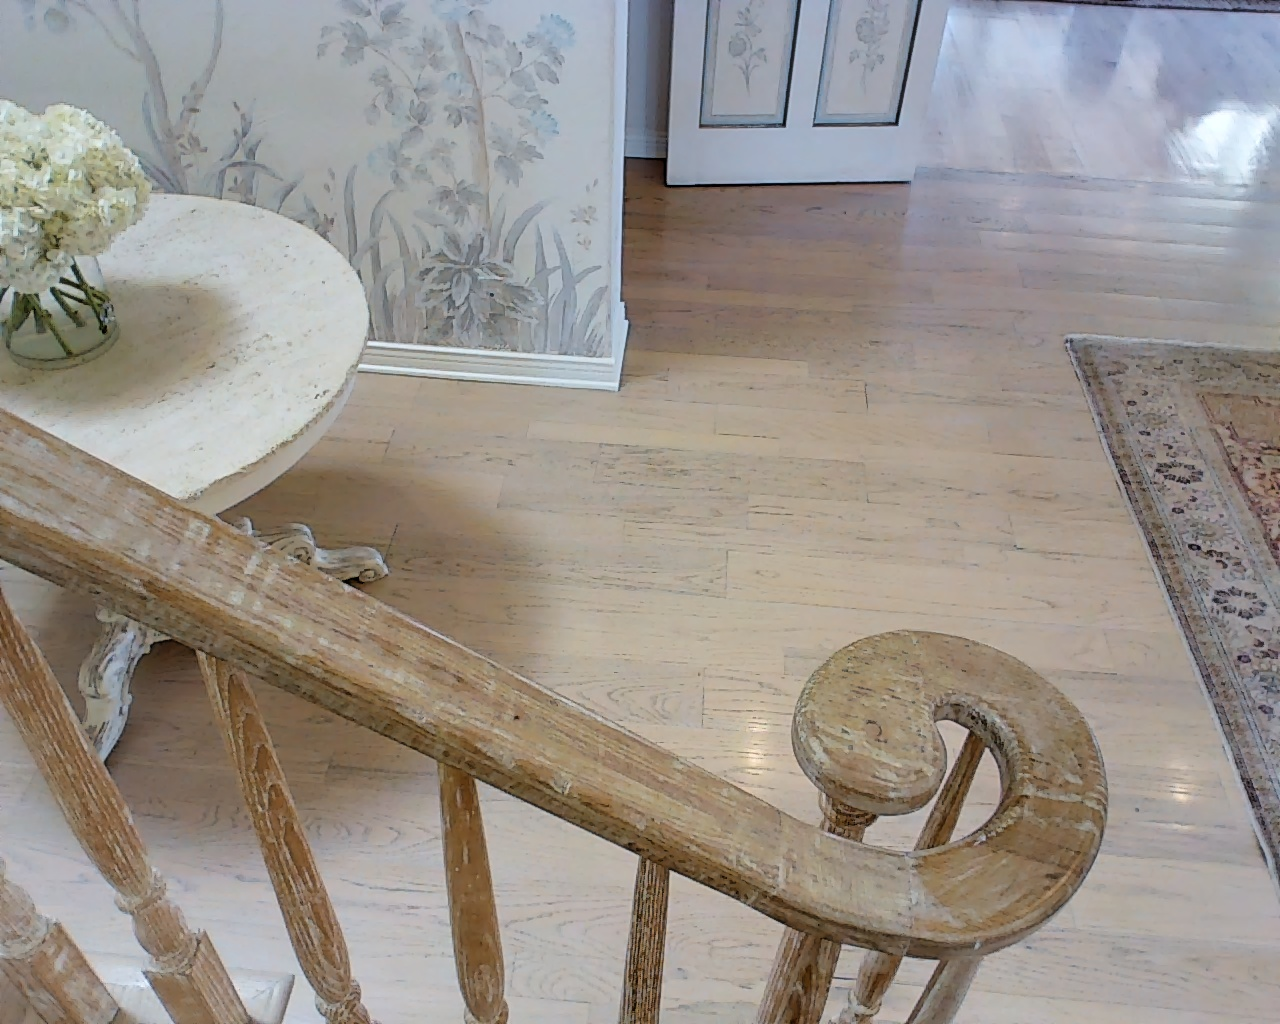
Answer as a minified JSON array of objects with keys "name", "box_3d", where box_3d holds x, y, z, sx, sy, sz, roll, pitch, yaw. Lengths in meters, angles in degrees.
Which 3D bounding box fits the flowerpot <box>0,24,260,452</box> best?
[{"name":"flowerpot","box_3d":[-0.970,-0.450,1.720,0.460,0.450,0.510,5,44,3]}]
